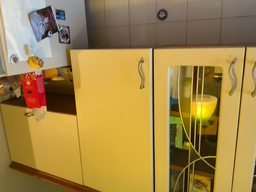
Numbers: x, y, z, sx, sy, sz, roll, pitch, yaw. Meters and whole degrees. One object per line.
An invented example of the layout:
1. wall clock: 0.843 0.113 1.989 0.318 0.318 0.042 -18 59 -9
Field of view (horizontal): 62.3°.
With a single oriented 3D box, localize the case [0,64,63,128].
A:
1. case: -0.460 -0.010 1.010 0.230 0.260 0.140 6 -163 26
